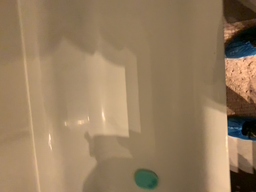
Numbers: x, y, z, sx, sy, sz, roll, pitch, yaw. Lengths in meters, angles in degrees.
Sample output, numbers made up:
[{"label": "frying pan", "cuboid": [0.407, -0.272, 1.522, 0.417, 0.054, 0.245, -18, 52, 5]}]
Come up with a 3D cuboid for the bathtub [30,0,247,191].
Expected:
[{"label": "bathtub", "cuboid": [0.060, -0.130, 0.950, 0.680, 0.530, 1.760, -3, 95, 12]}]
